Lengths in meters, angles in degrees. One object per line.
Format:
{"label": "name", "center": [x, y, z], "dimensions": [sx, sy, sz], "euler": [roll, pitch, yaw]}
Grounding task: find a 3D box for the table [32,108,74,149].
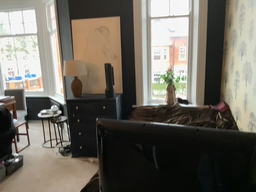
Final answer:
{"label": "table", "center": [-1.280, 0.550, 3.660], "dimensions": [0.490, 0.570, 0.390], "euler": [1, 12, 17]}
